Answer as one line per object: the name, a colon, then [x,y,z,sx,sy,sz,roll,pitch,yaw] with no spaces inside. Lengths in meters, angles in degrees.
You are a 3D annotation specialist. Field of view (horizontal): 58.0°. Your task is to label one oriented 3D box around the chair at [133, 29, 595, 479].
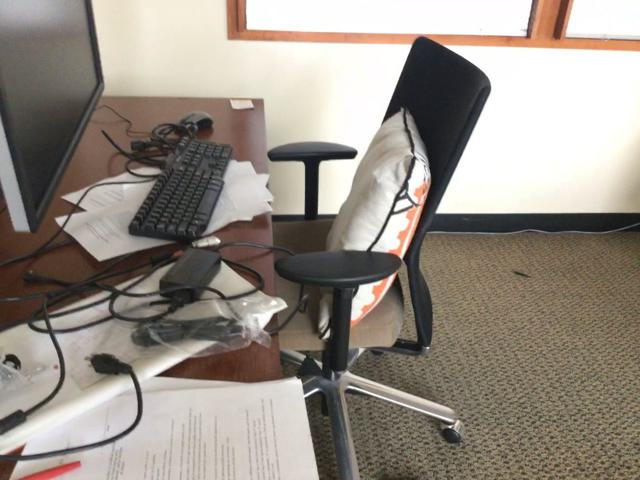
chair: [0.040,0.070,1.430,0.700,0.990,0.740,-3,30,-5]
